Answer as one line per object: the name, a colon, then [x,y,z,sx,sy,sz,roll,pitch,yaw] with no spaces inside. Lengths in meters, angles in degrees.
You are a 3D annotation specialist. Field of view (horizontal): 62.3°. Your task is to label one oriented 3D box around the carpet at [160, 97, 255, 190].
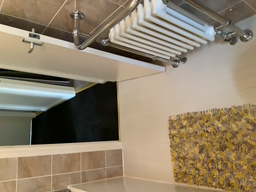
carpet: [0.540,0.310,1.400,0.780,0.050,0.500,-15,74,49]
